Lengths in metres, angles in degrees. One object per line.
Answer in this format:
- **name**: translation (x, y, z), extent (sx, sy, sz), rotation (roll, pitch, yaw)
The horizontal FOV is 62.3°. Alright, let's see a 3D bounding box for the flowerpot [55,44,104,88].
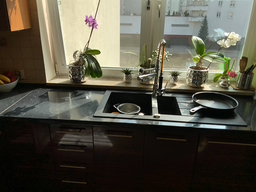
- **flowerpot**: translation (-0.430, -0.280, 1.950), extent (0.370, 0.340, 0.200), rotation (4, 22, 5)

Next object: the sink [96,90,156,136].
- **sink**: translation (0.000, 0.120, 1.720), extent (0.420, 0.170, 0.430), rotation (3, 22, 4)
